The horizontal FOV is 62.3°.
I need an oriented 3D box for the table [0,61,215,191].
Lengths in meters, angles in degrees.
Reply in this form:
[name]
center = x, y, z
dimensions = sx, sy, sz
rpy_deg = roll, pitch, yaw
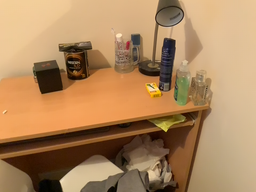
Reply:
[table]
center = -0.130, 0.300, 1.050
dimensions = 0.790, 0.760, 0.450
rpy_deg = -7, 32, -13
